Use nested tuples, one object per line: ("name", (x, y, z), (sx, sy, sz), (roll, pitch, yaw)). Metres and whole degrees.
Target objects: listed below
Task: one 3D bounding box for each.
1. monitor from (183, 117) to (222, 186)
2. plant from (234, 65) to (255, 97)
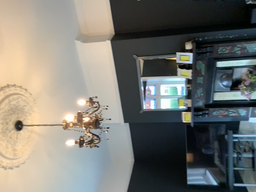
("monitor", (1.420, 1.060, 4.090), (0.070, 0.700, 1.310), (-22, -69, -78))
("plant", (1.940, -0.240, 3.280), (0.280, 0.420, 0.400), (-77, -18, -55))
